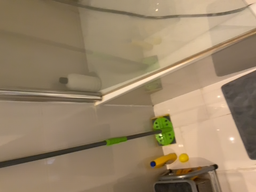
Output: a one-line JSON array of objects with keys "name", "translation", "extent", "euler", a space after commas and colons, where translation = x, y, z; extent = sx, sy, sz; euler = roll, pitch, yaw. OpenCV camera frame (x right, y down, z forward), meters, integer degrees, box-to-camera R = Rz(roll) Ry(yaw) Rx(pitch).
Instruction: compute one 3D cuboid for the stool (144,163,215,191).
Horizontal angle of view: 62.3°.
[{"name": "stool", "translation": [0.330, 0.650, 1.230], "extent": [0.300, 0.240, 0.430], "euler": [-25, 71, 40]}]
